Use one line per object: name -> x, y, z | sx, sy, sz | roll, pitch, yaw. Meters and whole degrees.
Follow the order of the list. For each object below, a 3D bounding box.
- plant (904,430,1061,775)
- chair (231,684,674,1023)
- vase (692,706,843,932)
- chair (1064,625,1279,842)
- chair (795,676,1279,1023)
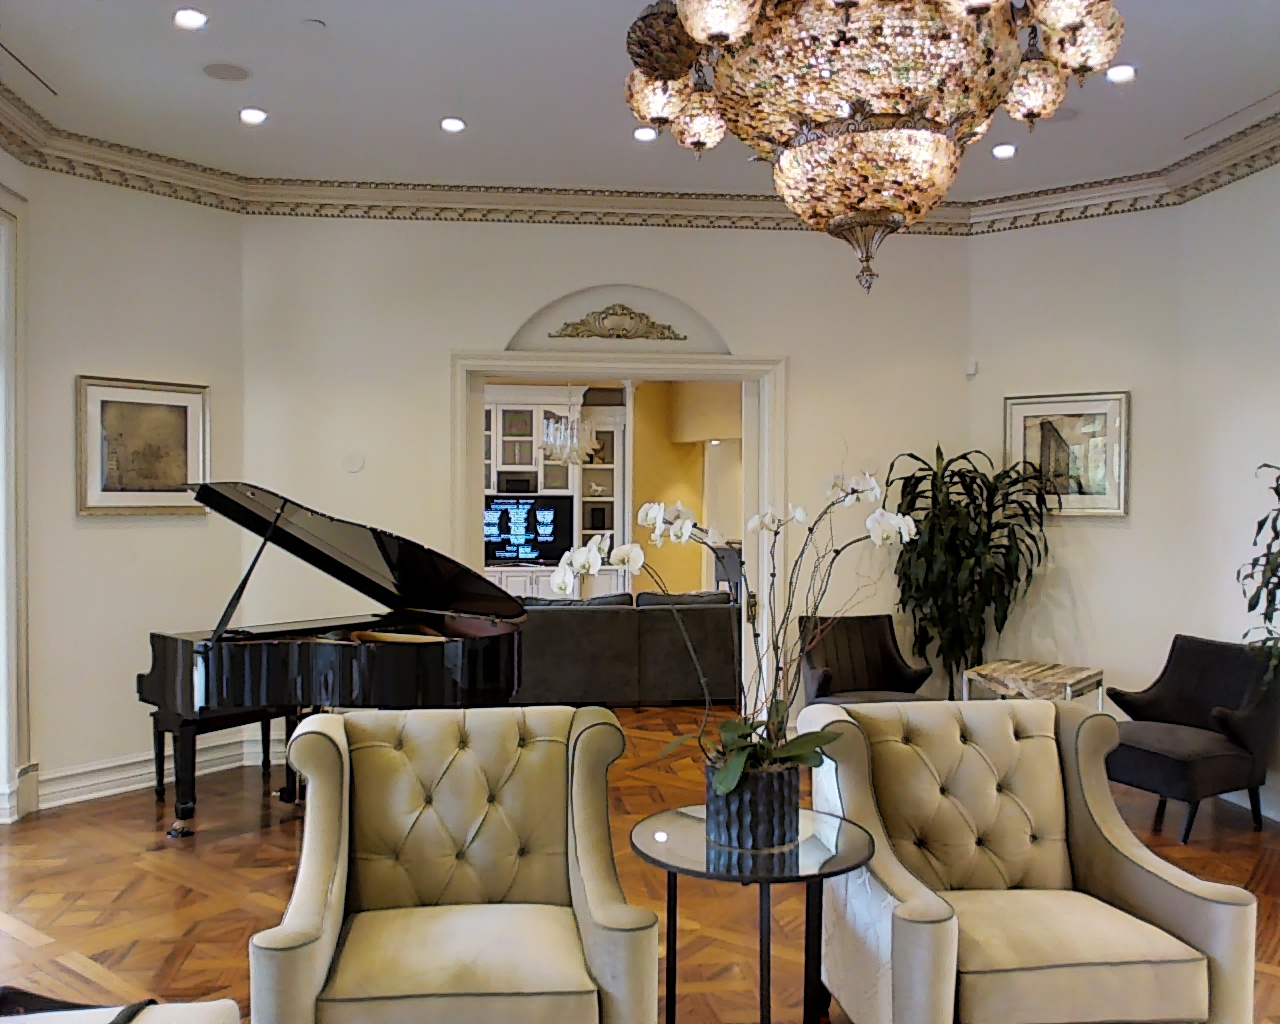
plant -> 2.129, 0.530, 6.760 | 0.850, 2.051, 0.670 | 0, 1, 11
chair -> -0.480, 1.080, 2.960 | 1.000, 1.020, 1.000 | 0, 1, -7
vase -> 0.360, 0.830, 2.980 | 0.300, 0.490, 0.350 | 1, 1, 30
chair -> 2.859, 1.100, 5.590 | 0.930, 0.890, 0.770 | 0, 1, -26
chair -> 1.080, 1.080, 3.110 | 1.030, 1.030, 0.940 | 0, 1, -7
